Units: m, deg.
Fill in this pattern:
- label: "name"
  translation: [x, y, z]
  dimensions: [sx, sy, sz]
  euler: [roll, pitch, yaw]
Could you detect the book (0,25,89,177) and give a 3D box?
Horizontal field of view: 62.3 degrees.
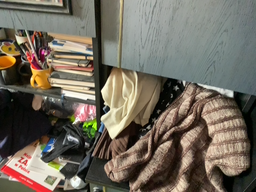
- label: "book"
  translation: [-0.600, -0.050, 0.790]
  dimensions: [0.810, 0.330, 0.350]
  euler: [13, 41, 8]
